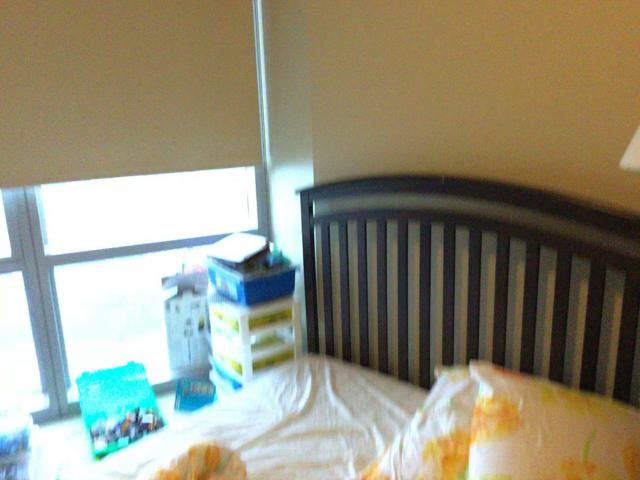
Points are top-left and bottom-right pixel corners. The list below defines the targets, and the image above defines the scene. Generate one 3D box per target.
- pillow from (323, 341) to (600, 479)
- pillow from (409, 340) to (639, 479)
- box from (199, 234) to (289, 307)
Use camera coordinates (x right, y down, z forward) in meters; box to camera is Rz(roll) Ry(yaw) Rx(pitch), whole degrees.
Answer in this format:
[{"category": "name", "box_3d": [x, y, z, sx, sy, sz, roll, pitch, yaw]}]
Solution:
[{"category": "pillow", "box_3d": [0.430, 0.570, 1.710, 0.530, 0.220, 0.660, 11, 18, 41]}, {"category": "pillow", "box_3d": [0.610, 0.600, 1.530, 0.480, 0.390, 0.610, 11, 18, 41]}, {"category": "box", "box_3d": [-0.340, 0.120, 2.540, 0.230, 0.200, 0.400, -10, 16, -33]}]
